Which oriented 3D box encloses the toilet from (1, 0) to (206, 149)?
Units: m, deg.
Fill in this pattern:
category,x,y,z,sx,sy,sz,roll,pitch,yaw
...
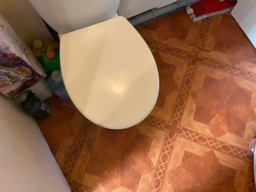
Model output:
category,x,y,z,sx,sy,sz,roll,pitch,yaw
toilet,-0.130,-0.160,0.880,0.370,0.750,0.610,-22,75,-8
